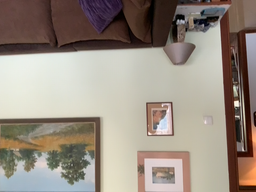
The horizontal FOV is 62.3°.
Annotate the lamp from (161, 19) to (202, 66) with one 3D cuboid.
[{"bbox_3d":[0.450,-0.450,1.840,0.290,0.320,0.250,-1,176,3],"label":"lamp"}]
